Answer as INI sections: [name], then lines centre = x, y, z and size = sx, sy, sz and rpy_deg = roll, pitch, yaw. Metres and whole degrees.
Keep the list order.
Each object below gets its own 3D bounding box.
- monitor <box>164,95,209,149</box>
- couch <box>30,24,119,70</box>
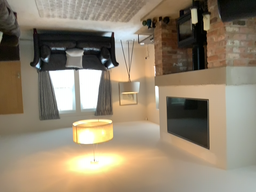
[monitor]
centre = 0.950, 0.380, 3.650
size = 0.030, 0.740, 1.240
rpy_deg = -3, -177, -19
[couch]
centre = -1.330, -1.160, 5.390
size = 1.960, 0.890, 1.070
rpy_deg = -3, -177, -18
